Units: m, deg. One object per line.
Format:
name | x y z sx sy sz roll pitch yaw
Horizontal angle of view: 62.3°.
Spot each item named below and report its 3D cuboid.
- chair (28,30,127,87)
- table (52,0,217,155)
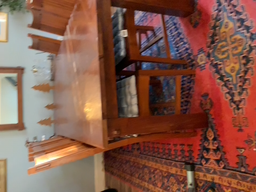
chair | -0.600 -0.400 2.530 0.430 1.060 0.520 164 103 -64
table | -0.230 -0.130 2.090 1.920 0.770 1.040 164 103 -64
